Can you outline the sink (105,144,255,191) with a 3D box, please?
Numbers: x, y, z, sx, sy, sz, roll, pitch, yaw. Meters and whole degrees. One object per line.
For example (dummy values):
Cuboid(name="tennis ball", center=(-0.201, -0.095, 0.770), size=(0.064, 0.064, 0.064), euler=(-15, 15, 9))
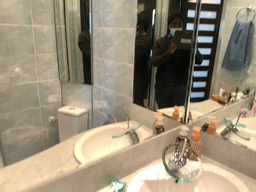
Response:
Cuboid(name="sink", center=(0.260, 0.460, 0.950), size=(0.550, 0.150, 0.480), euler=(-12, 22, -40))
